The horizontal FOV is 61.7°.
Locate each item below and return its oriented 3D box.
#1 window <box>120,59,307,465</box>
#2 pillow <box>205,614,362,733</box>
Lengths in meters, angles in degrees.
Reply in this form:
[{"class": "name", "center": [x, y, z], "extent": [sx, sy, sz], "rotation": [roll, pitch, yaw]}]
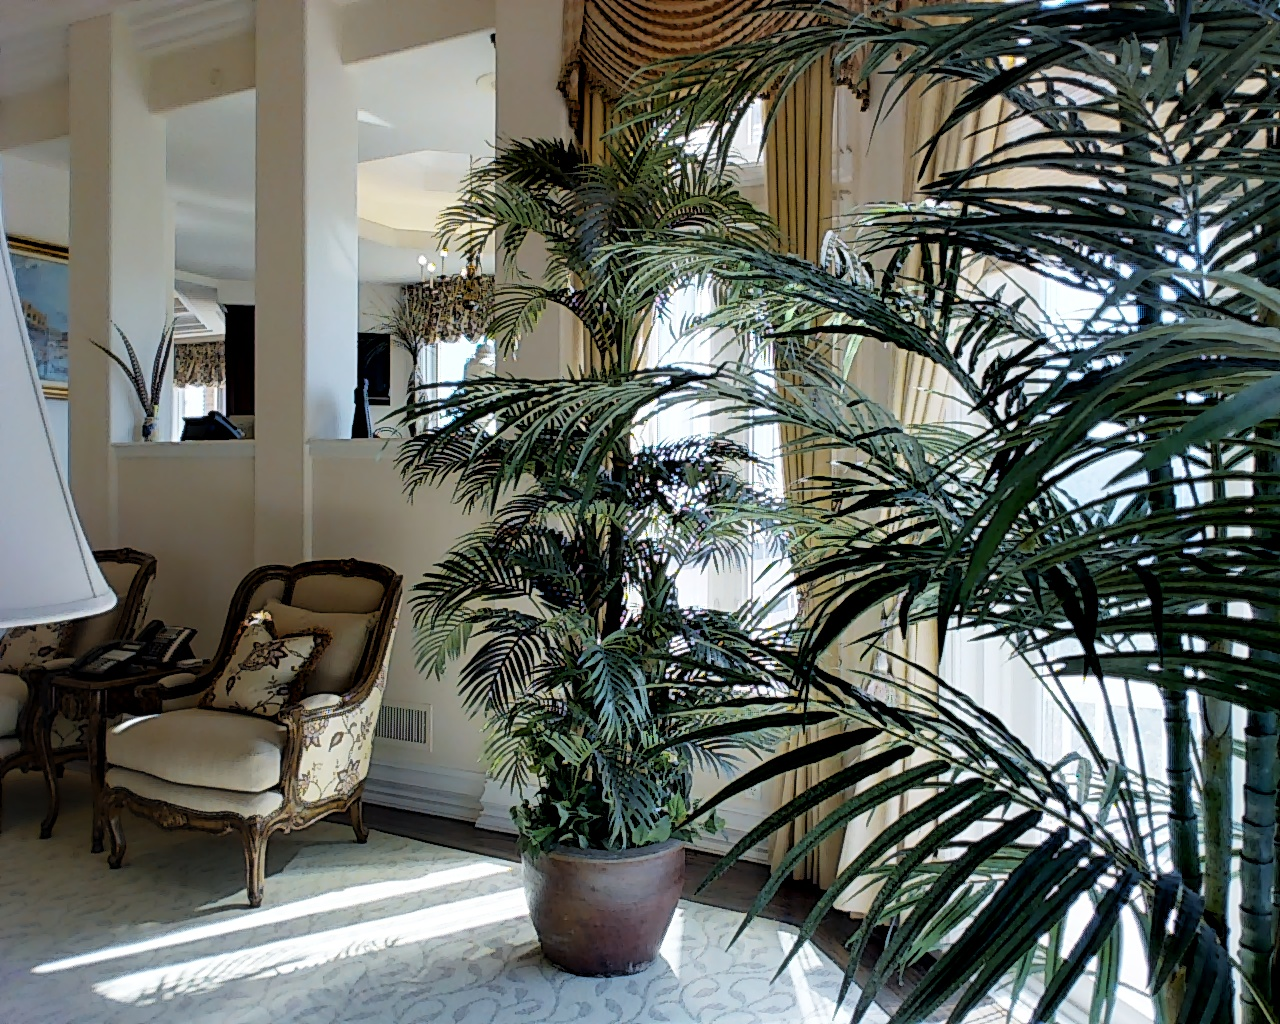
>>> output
[{"class": "window", "center": [-2.190, -1.200, 5.470], "extent": [1.030, 1.910, 0.300], "rotation": [1, 1, 29]}, {"class": "pillow", "center": [-1.320, 0.600, 3.980], "extent": [0.410, 0.360, 0.270], "rotation": [2, -16, 25]}]
